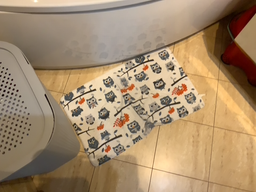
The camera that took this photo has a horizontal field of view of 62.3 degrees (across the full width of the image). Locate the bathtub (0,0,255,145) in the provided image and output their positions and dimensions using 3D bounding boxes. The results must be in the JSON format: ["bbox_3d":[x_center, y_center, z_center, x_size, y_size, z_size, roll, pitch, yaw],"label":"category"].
[{"bbox_3d":[-0.130,-0.630,1.160,1.510,0.580,1.060,-30,75,-11],"label":"bathtub"}]

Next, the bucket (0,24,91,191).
[{"bbox_3d":[-0.430,0.110,0.890,0.310,0.600,0.430,-28,74,-11],"label":"bucket"}]
